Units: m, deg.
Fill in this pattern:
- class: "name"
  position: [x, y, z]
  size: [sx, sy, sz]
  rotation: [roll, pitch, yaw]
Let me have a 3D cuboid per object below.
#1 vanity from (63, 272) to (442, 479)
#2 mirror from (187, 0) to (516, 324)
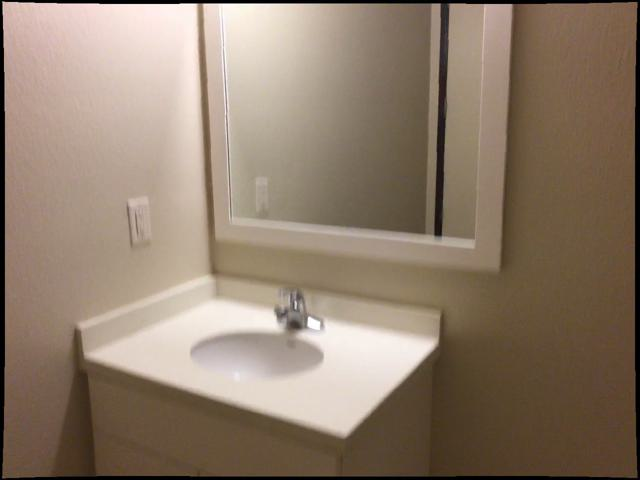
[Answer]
- class: "vanity"
  position: [-0.150, 0.652, 1.620]
  size: [0.808, 0.922, 0.580]
  rotation: [5, 14, 29]
- class: "mirror"
  position: [0.040, -0.301, 1.640]
  size: [0.958, 0.962, 0.070]
  rotation: [5, 14, 29]
